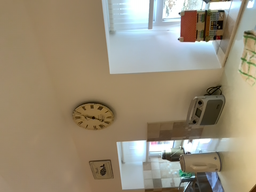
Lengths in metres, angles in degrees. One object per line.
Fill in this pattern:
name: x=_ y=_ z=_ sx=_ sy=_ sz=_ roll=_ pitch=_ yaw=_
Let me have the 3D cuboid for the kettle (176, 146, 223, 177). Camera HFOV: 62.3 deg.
kettle: x=0.480 y=0.450 z=1.460 sx=0.140 sy=0.250 sz=0.150 roll=89 pitch=178 yaw=-46
